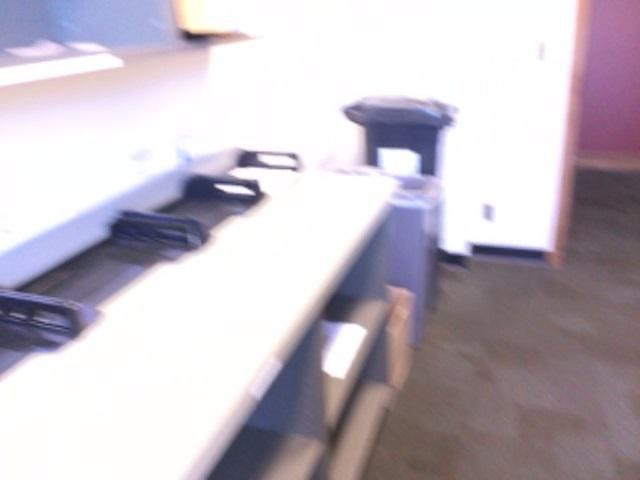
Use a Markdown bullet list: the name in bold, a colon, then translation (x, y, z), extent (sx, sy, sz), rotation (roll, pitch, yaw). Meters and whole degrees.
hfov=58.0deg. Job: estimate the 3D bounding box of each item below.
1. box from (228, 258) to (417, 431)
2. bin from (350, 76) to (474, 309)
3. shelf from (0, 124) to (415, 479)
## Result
- **box**: translation (0.050, 0.390, 2.390), extent (0.590, 0.380, 0.620), rotation (2, 23, 19)
- **bin**: translation (0.500, -0.250, 2.960), extent (0.510, 1.060, 0.490), rotation (2, 23, 19)
- **shelf**: translation (-0.440, 0.660, 0.870), extent (0.640, 1.040, 3.020), rotation (2, 23, 19)
